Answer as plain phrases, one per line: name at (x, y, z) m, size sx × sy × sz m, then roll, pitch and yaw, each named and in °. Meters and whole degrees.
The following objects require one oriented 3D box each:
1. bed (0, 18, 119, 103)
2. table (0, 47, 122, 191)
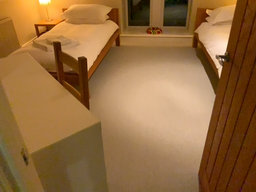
bed at (-0.870, -0.720, 3.290) m, size 1.110 × 0.530 × 2.090 m, roll 3°, pitch 32°, yaw 7°
table at (-0.630, 0.250, 1.460) m, size 0.520 × 0.780 × 1.210 m, roll -25°, pitch 39°, yaw -32°
